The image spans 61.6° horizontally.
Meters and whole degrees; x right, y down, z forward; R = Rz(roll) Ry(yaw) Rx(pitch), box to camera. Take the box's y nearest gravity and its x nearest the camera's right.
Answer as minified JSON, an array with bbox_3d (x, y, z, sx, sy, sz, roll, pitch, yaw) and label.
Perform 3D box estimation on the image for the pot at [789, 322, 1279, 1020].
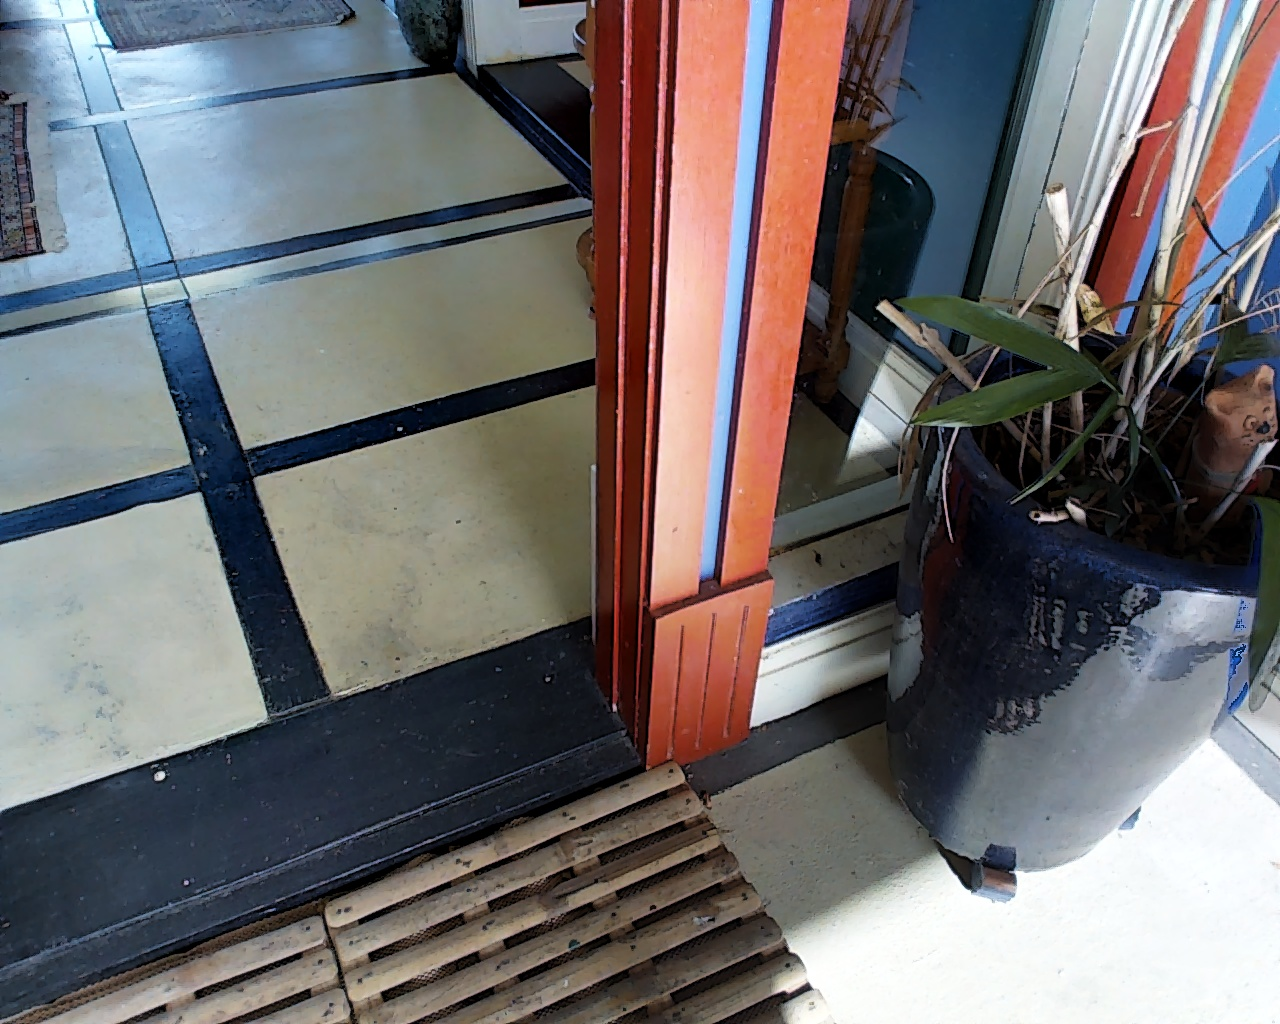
[{"bbox_3d":[0.420,0.200,1.270,0.200,0.680,0.450,-17,44,-21],"label":"pot"}]

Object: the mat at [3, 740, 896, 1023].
[{"bbox_3d":[-0.270,0.670,1.170,1.100,0.060,0.570,-17,44,-21],"label":"mat"}]
